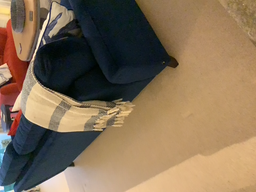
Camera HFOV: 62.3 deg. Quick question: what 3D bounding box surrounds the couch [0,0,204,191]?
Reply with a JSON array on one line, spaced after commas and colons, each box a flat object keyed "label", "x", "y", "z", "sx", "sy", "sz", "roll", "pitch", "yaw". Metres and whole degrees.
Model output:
[{"label": "couch", "x": -0.670, "y": -0.010, "z": 1.920, "sx": 2.250, "sy": 0.830, "sz": 1.120, "roll": -47, "pitch": 59, "yaw": 42}]
